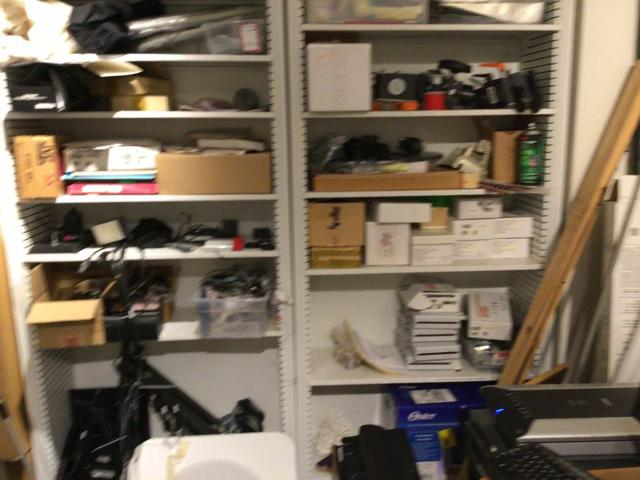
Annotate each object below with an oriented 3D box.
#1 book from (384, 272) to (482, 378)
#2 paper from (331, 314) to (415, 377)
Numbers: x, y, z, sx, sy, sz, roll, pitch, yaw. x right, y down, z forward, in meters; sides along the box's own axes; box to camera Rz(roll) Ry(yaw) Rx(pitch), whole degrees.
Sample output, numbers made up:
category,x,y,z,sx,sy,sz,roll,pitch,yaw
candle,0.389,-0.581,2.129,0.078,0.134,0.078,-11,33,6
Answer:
category,x,y,z,sx,sy,sz,roll,pitch,yaw
book,0.430,0.320,2.280,0.280,0.310,0.350,-2,10,-7
paper,0.200,0.410,2.300,0.270,0.130,0.320,-2,10,-7
